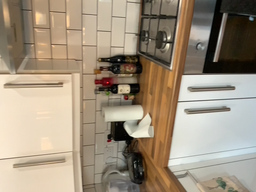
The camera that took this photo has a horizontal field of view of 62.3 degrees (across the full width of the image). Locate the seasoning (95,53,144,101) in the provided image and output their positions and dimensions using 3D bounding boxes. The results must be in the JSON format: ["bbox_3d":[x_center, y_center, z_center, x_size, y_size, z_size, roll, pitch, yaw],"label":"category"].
[{"bbox_3d":[-0.070,-0.140,1.530,0.150,0.310,0.300,-132,43,-63],"label":"seasoning"}]
